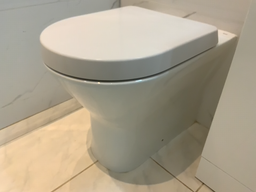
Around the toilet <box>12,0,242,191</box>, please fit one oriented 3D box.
[{"bbox_3d":[0.020,-0.030,0.730,0.550,0.460,0.370,-28,45,-36],"label":"toilet"}]
